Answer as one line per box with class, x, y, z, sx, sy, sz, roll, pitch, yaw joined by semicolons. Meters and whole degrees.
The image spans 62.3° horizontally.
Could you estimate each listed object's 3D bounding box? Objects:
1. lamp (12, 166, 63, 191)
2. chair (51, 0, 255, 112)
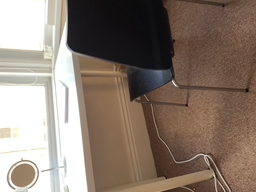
lamp;-0.550;0.540;1.290;0.110;0.270;0.170;-42;54;55
chair;0.110;-0.210;1.010;0.450;0.830;0.450;-32;62;59
